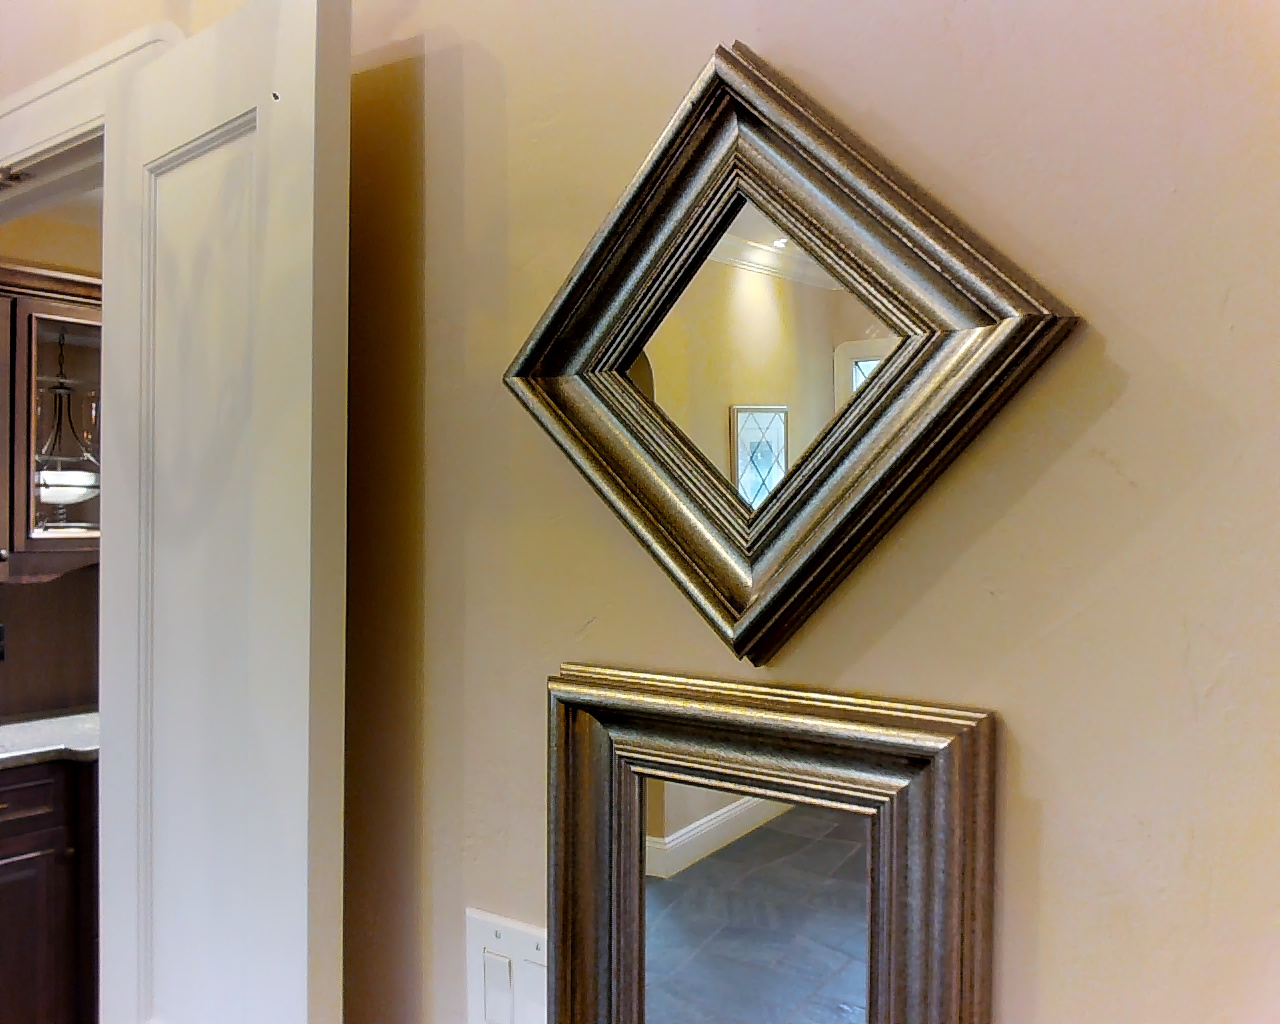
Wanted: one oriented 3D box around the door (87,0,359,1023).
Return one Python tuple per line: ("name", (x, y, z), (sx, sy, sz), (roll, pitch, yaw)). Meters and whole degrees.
("door", (-0.440, 0.520, 1.080), (0.480, 2.090, 0.040), (1, 1, 42))
